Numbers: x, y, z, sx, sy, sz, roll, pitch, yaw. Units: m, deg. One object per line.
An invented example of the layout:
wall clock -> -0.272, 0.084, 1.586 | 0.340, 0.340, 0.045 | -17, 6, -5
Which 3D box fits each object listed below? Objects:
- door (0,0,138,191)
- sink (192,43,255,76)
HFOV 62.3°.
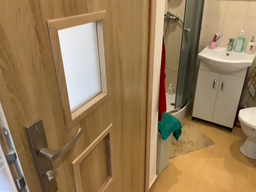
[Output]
door -> -0.150, 0.080, 0.690 | 0.080, 2.000, 0.650 | 14, 31, 25
sink -> 0.980, -0.390, 2.170 | 0.510, 0.160, 0.380 | 17, 32, 30
